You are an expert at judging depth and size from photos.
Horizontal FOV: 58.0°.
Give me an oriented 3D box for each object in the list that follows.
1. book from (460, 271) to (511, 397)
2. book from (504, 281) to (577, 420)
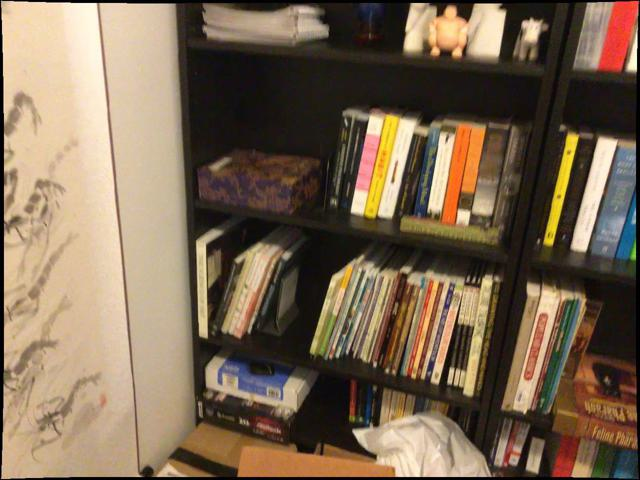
[{"bbox_3d":[0.379,0.221,1.330,0.060,0.301,0.050,11,26,17],"label":"book"},{"bbox_3d":[0.489,0.251,1.290,0.090,0.311,0.060,11,26,17],"label":"book"}]
